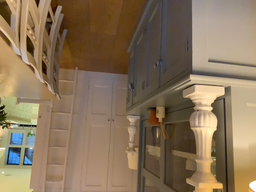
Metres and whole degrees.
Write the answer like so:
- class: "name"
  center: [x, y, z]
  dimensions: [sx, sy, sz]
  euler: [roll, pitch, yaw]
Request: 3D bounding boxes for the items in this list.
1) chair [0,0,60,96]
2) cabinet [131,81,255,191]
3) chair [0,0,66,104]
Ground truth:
- class: "chair"
  center: [-0.790, -0.490, 1.530]
  dimensions: [0.440, 0.880, 0.500]
  euler: [5, 170, -10]
- class: "cabinet"
  center: [0.410, 0.770, 1.650]
  dimensions: [0.430, 1.360, 1.790]
  euler: [4, 170, -9]
- class: "chair"
  center: [-0.890, -0.410, 2.050]
  dimensions: [0.440, 0.880, 0.500]
  euler: [5, 170, -10]
